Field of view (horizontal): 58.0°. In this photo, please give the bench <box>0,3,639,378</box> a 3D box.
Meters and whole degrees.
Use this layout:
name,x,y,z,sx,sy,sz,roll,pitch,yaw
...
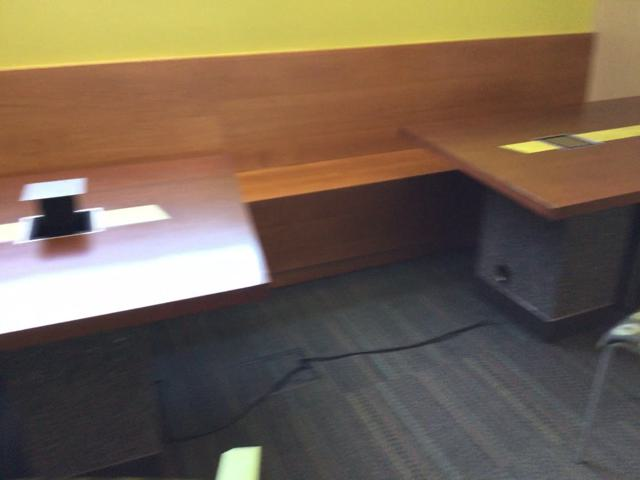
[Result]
name,x,y,z,sx,sy,sz,roll,pitch,yaw
bench,-0.440,-0.320,2.540,4.170,1.150,0.650,-12,25,-21

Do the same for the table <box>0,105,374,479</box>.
name,x,y,z,sx,sy,sz,roll,pitch,yaw
table,-0.940,0.260,1.600,1.820,0.890,1.180,-12,24,-20

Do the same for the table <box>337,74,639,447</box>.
name,x,y,z,sx,sy,sz,roll,pitch,yaw
table,1.070,-0.110,2.340,1.660,0.840,1.140,-11,24,-19
